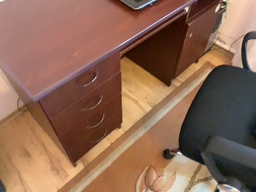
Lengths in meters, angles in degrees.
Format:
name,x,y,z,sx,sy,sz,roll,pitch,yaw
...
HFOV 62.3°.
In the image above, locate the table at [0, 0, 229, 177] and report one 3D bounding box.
name,x,y,z,sx,sy,sz,roll,pitch,yaw
table,-0.060,-0.320,1.320,0.670,0.720,1.300,38,61,24
